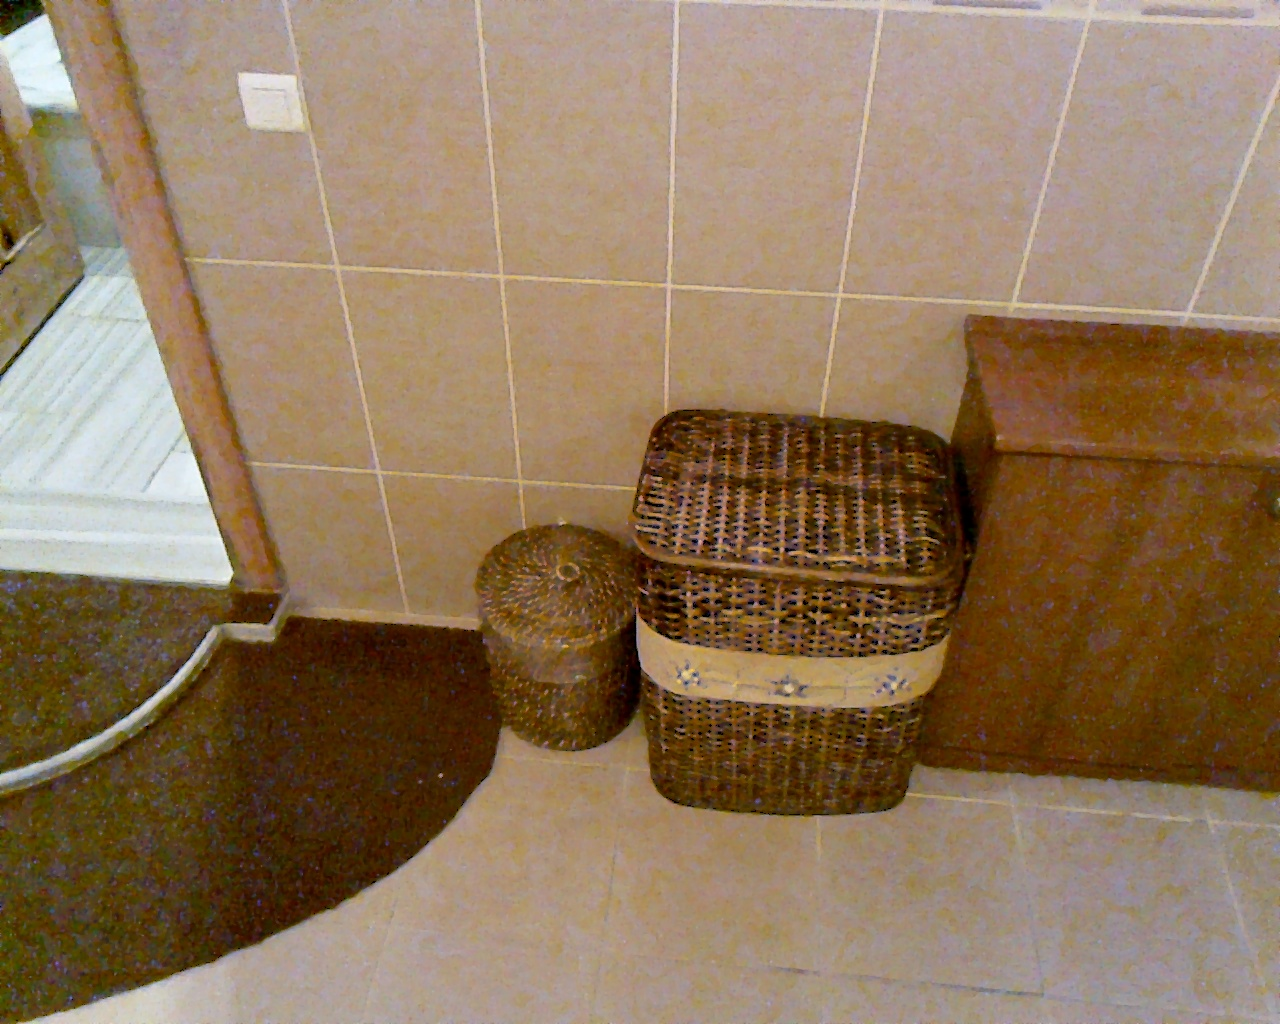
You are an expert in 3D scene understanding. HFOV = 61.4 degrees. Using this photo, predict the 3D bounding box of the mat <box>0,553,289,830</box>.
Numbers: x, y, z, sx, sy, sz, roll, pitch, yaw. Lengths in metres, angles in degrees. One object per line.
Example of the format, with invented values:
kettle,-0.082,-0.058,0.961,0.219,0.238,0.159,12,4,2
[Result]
mat,-1.260,0.290,2.000,1.050,0.060,0.540,4,43,4
